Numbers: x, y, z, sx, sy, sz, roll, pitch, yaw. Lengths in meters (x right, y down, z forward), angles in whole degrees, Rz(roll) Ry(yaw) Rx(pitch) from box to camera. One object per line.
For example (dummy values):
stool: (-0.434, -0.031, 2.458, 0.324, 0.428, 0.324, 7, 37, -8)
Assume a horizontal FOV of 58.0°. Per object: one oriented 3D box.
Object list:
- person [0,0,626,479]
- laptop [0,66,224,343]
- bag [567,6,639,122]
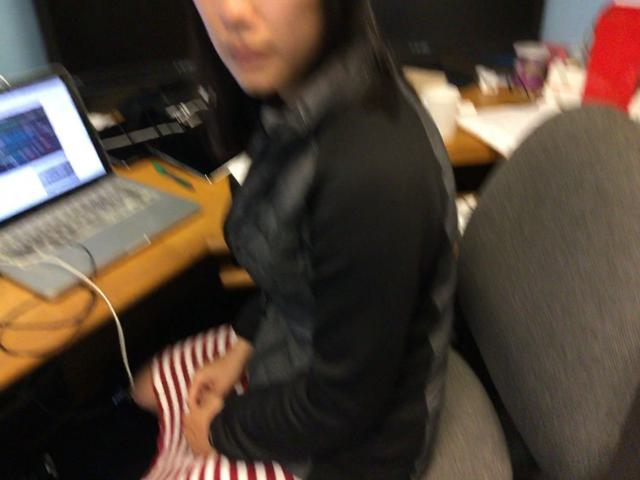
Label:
person: (-0.130, 0.200, 0.810, 0.640, 1.300, 0.430, 3, 30, 4)
laptop: (-0.440, -0.100, 0.930, 0.350, 0.220, 0.430, 19, 35, 29)
bag: (0.730, -0.440, 1.430, 0.140, 0.230, 0.170, 19, 35, 28)
